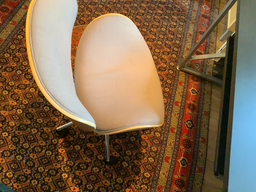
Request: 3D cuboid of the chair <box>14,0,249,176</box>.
[{"bbox_3d":[-0.080,-0.010,1.030,0.620,0.840,0.620,-1,66,-15],"label":"chair"}]
